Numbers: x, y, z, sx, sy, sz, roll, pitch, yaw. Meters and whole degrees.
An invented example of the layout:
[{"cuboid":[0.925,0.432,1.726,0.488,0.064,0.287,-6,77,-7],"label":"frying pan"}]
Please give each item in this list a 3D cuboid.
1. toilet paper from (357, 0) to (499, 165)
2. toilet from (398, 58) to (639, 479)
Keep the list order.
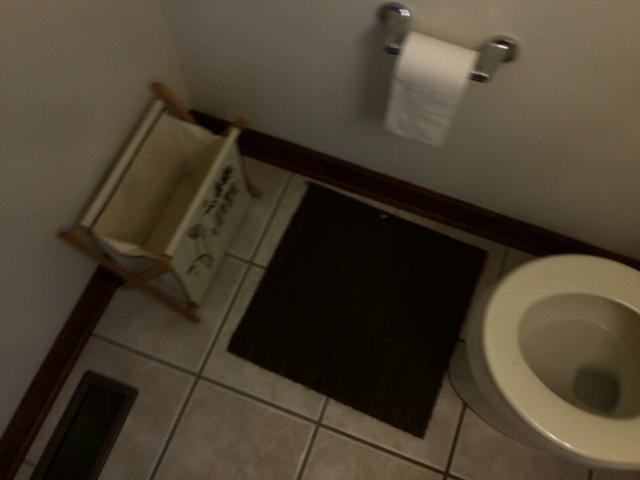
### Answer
[{"cuboid":[0.180,-0.270,1.030,0.180,0.240,0.110,21,67,7],"label":"toilet paper"},{"cuboid":[0.590,0.240,0.980,0.680,0.770,0.490,21,67,7],"label":"toilet"}]
